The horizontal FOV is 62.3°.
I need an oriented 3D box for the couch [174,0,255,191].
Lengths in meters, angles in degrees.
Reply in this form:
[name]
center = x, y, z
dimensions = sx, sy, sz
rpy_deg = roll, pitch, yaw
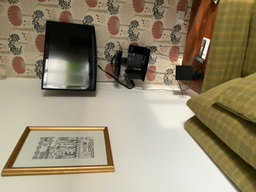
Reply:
[couch]
center = 0.930, -0.090, 1.190
dimensions = 1.170, 0.770, 1.060
rpy_deg = -117, 31, -67
